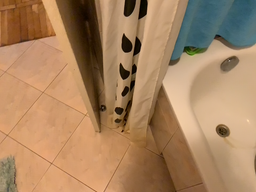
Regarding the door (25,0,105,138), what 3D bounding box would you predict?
[{"bbox_3d":[-0.230,-0.490,0.590,0.080,1.990,0.680,-9,64,-6],"label":"door"}]
